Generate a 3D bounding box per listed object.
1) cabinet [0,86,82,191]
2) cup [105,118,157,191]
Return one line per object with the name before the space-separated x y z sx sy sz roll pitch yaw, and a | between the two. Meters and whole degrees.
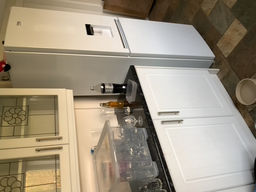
cabinet | -0.770 0.410 1.480 0.310 0.790 0.990 114 149 -48
cup | -0.010 0.480 1.570 0.400 0.170 0.480 114 149 -48
